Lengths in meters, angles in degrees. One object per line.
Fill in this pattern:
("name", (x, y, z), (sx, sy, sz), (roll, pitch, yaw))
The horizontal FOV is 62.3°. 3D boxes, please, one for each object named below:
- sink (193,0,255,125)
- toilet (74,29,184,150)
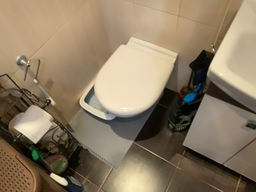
("sink", (0.530, -0.060, 0.640), (0.520, 0.130, 0.370), (27, 66, 18))
("toilet", (0.030, -0.030, 1.310), (0.380, 0.440, 0.490), (27, 66, 18))
